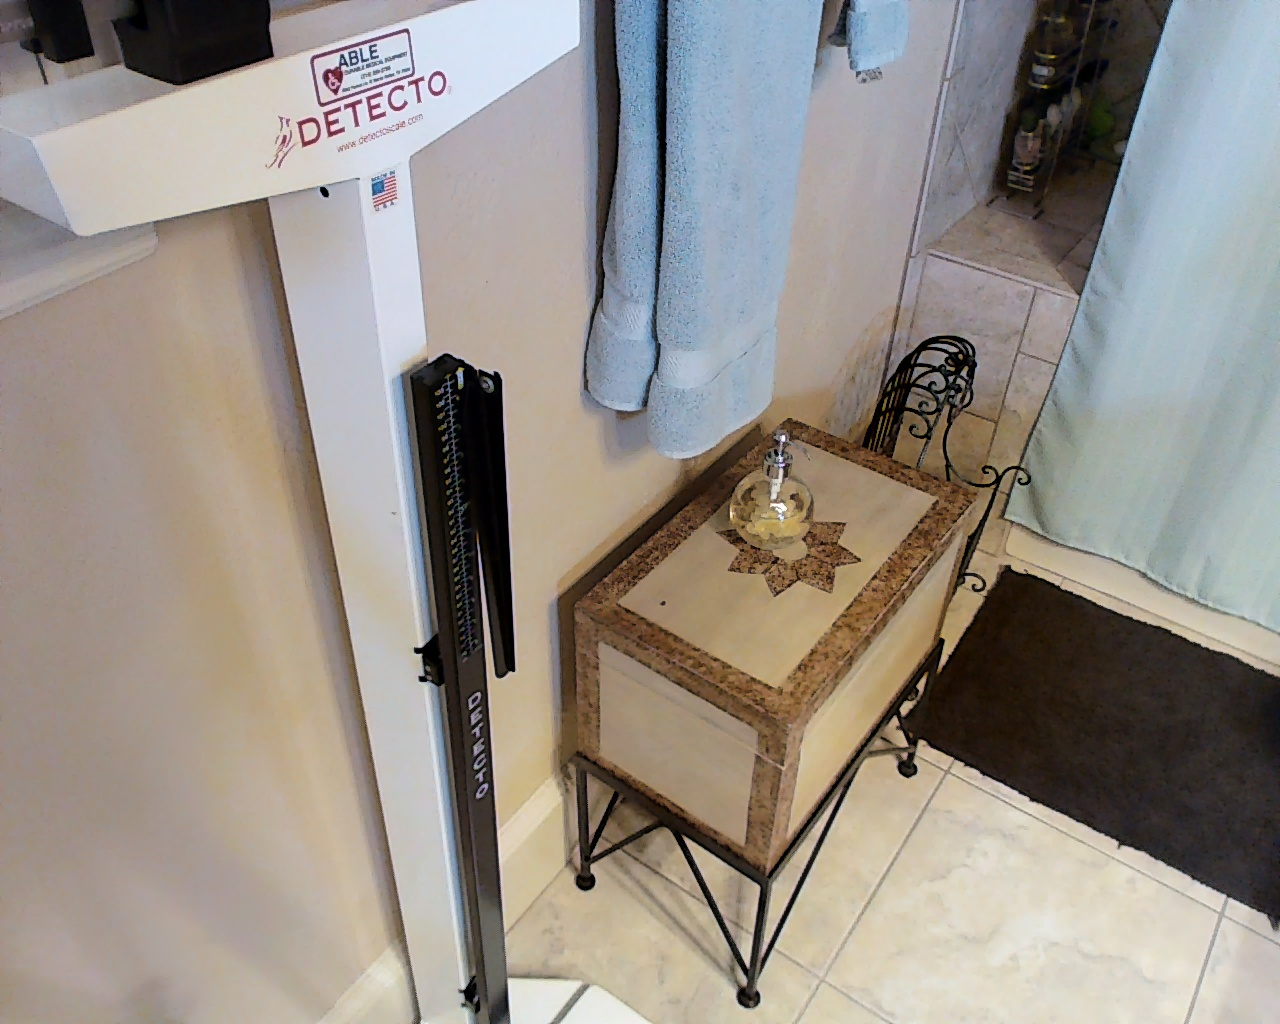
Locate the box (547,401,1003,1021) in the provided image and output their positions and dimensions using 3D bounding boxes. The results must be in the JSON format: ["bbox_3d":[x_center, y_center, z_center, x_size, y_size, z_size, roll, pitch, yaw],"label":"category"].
[{"bbox_3d":[0.190,0.290,1.630,0.380,0.660,0.540,26,45,27],"label":"box"}]
